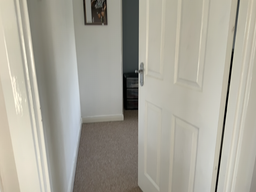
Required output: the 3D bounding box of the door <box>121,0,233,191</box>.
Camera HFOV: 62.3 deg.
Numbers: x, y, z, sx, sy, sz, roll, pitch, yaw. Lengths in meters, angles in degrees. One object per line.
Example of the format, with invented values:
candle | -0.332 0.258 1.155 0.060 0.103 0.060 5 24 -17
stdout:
door | 0.200 -0.150 1.320 0.190 1.960 0.790 -6 18 -23
